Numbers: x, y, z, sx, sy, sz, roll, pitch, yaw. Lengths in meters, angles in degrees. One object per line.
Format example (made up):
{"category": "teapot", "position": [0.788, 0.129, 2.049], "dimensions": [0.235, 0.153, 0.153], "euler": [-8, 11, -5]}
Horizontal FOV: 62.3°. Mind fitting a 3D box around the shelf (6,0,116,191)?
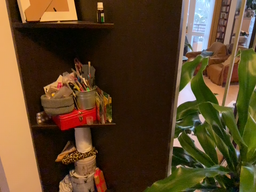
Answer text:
{"category": "shelf", "position": [-0.280, -0.030, 1.010], "dimensions": [0.320, 2.520, 0.290], "euler": [20, 29, 37]}
